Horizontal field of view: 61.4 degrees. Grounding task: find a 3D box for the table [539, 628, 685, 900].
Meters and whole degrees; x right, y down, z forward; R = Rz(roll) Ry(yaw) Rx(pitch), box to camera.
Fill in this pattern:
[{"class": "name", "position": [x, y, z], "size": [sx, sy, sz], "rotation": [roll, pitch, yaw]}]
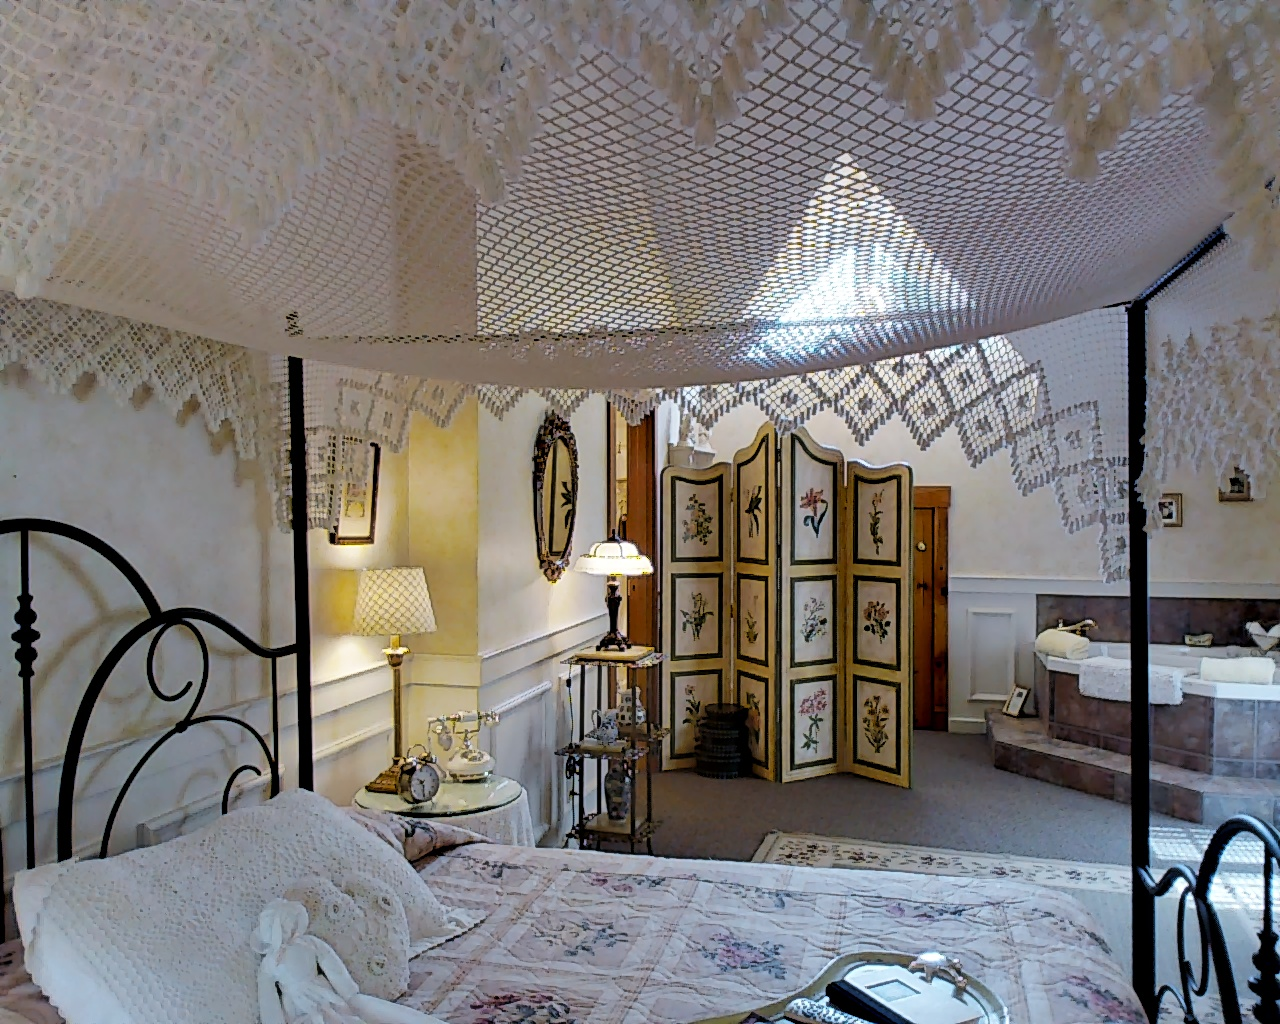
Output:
[{"class": "table", "position": [-0.100, 1.000, 4.470], "size": [0.430, 0.940, 0.640], "rotation": [1, 2, 16]}]
